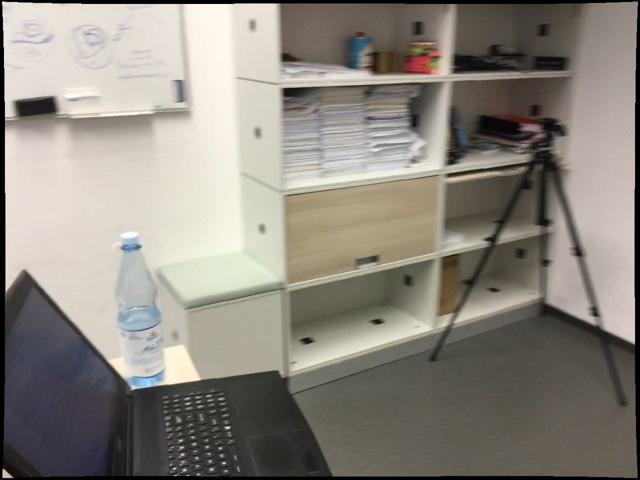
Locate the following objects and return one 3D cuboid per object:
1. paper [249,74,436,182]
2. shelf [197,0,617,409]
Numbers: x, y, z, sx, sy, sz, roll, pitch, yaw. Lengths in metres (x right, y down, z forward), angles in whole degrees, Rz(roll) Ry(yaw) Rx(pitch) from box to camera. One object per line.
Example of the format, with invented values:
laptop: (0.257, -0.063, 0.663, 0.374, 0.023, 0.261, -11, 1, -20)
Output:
paper: (0.100, -0.501, 2.470, 0.709, 0.350, 0.330, -11, 22, -25)
shelf: (0.420, -0.581, 2.580, 1.729, 2.202, 0.570, -11, 22, -25)
